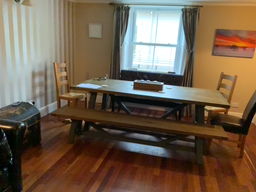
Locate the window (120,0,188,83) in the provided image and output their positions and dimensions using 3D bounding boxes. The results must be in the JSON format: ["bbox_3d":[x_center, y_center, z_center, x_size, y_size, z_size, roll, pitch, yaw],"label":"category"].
[{"bbox_3d":[0.580,-1.250,4.950,1.380,1.720,0.380,8,15,14],"label":"window"}]
